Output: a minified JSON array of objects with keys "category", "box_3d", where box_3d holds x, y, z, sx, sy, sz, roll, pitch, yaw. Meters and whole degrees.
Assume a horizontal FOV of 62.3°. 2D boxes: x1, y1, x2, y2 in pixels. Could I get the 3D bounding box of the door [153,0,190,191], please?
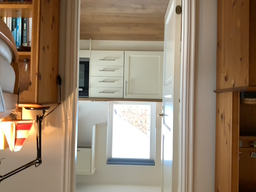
[{"category":"door","box_3d":[0.340,0.210,1.860,0.110,2.250,0.990,1,180,1]}]
